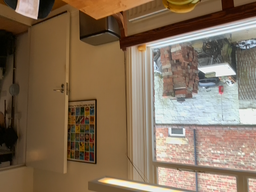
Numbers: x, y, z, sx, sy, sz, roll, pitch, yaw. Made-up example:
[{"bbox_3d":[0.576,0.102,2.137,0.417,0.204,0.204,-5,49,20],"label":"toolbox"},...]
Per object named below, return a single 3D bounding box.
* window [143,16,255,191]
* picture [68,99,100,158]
[{"bbox_3d":[0.950,0.070,1.820,1.760,1.440,0.100,-4,174,31],"label":"window"},{"bbox_3d":[-0.520,0.370,2.480,0.420,0.650,0.070,-4,174,31],"label":"picture"}]
